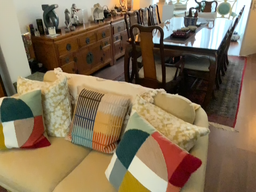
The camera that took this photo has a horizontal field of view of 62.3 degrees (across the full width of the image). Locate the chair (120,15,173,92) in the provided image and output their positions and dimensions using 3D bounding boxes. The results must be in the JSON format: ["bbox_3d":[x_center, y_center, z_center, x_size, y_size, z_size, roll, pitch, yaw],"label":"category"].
[{"bbox_3d":[0.280,-0.650,3.170,0.620,0.980,0.500,10,30,19],"label":"chair"}]

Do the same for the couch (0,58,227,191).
[{"bbox_3d":[-0.250,0.340,1.520,1.560,0.780,0.940,12,31,23],"label":"couch"}]

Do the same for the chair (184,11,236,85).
[{"bbox_3d":[1.270,-0.760,3.320,0.560,1.000,0.440,12,31,23],"label":"chair"}]
